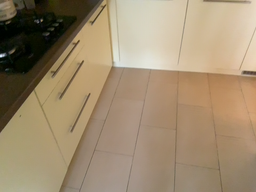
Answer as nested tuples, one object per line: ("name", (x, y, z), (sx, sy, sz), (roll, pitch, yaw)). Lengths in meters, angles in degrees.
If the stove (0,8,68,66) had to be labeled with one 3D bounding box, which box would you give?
("stove", (-0.650, -0.340, 1.120), (0.490, 0.040, 0.500), (6, 44, 9))
